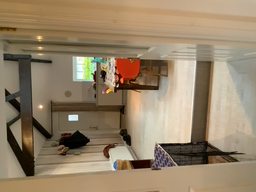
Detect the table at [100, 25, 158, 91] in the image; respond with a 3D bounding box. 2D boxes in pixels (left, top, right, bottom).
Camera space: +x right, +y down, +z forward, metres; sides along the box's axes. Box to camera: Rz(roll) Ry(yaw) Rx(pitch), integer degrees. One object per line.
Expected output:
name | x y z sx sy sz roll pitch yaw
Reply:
table | -0.110 -0.700 4.310 1.880 0.780 1.030 -150 60 -76
